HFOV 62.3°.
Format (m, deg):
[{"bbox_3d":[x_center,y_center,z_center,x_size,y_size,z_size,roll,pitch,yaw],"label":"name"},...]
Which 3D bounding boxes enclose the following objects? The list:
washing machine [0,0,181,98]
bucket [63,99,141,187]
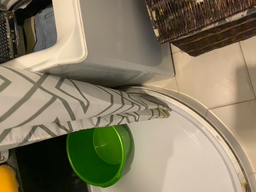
[{"bbox_3d":[-0.170,-0.250,0.900,0.520,0.840,0.420,-11,87,27],"label":"washing machine"},{"bbox_3d":[-0.150,0.260,1.180,0.330,0.140,0.420,-14,85,27],"label":"bucket"}]
